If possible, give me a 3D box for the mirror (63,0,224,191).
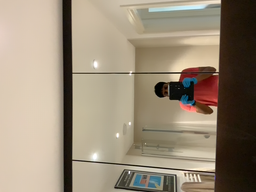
[{"bbox_3d":[0.060,0.150,1.470,0.100,1.050,1.740,-18,-71,-78],"label":"mirror"}]
